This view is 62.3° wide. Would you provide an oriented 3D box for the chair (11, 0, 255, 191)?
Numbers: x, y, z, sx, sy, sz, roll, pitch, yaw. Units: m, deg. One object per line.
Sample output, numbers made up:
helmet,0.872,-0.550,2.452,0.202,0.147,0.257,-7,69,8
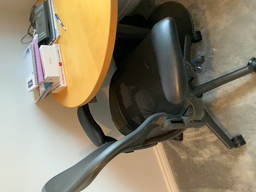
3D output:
chair,0.080,0.020,0.960,0.700,0.910,0.700,-39,64,46
